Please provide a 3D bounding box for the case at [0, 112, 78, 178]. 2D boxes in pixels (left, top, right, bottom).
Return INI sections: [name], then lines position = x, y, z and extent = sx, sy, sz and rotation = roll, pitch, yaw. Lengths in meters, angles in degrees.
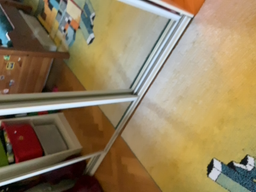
[case]
position = -0.850, 0.440, 2.030
extent = 0.400, 0.520, 0.320
rotation = 49, 124, 29
